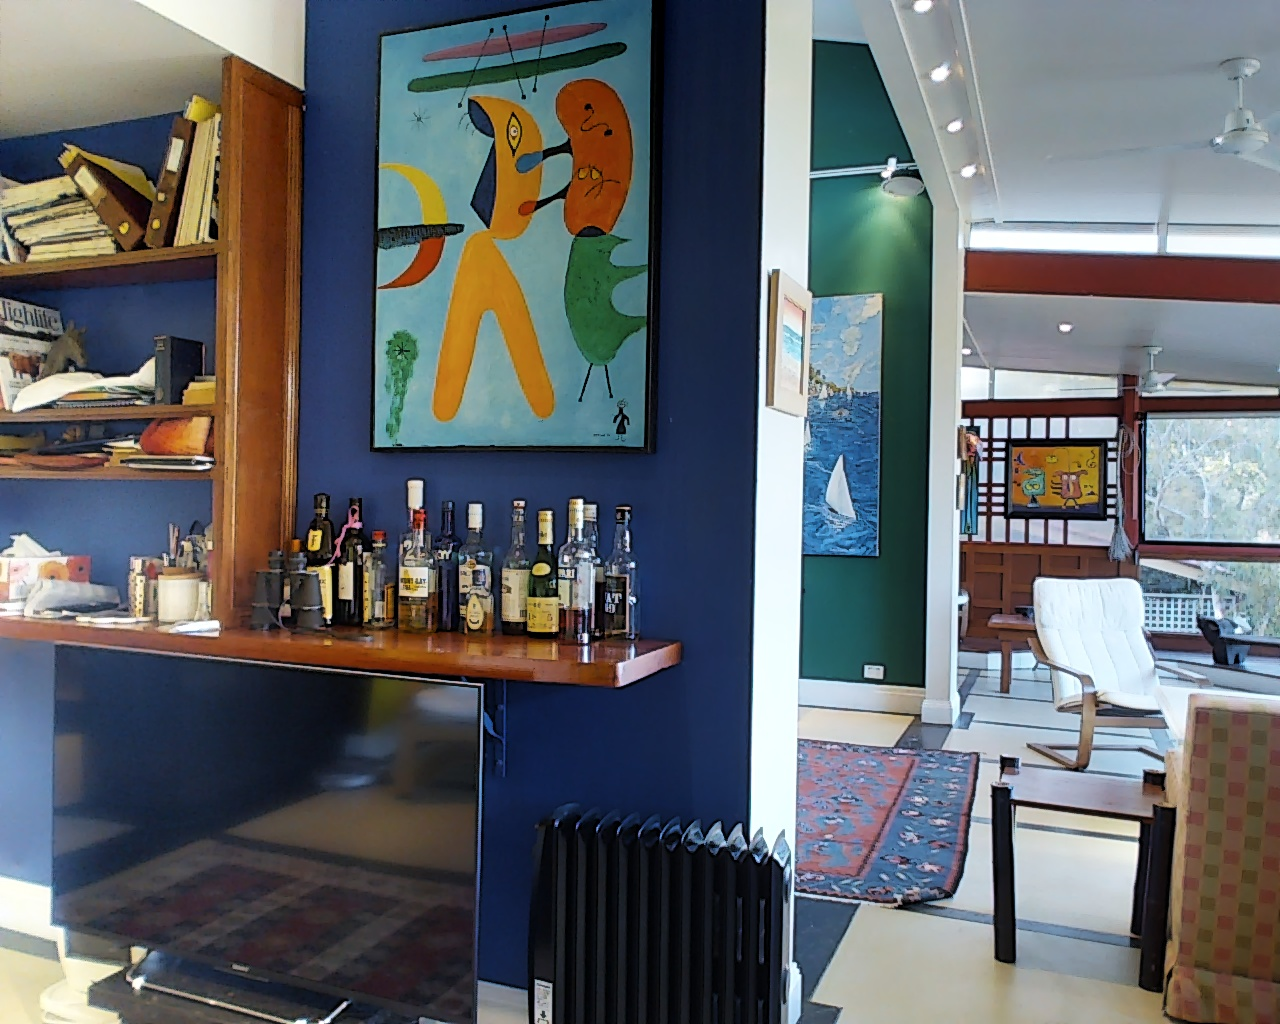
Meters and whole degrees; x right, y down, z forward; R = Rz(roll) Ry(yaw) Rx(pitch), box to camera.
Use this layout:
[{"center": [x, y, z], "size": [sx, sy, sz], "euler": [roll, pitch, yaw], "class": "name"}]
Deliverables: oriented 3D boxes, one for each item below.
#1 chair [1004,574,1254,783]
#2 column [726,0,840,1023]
[{"center": [2.539, 0.840, 5.700], "size": [0.840, 0.950, 0.950], "euler": [1, 0, -3], "class": "chair"}, {"center": [0.360, -0.300, 2.610], "size": [0.140, 3.091, 0.360], "euler": [1, 0, 22], "class": "column"}]
